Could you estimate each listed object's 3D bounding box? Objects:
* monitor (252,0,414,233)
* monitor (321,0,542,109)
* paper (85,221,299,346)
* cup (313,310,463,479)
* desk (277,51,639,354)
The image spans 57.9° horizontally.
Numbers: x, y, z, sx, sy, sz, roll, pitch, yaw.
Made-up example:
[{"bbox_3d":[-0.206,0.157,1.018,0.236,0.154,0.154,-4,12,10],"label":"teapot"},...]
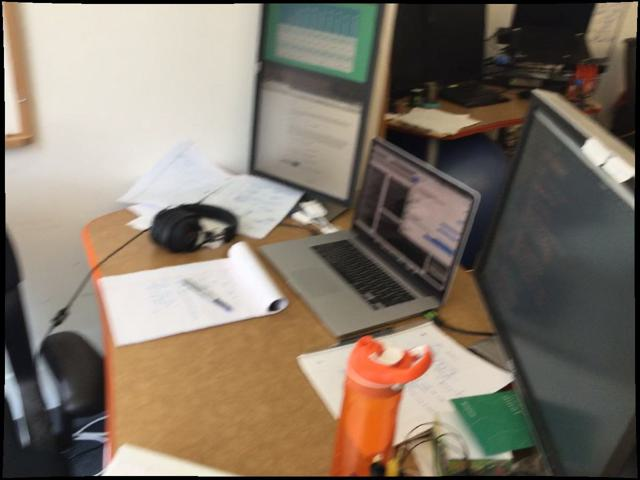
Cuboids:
[{"bbox_3d":[0.000,-0.360,1.410,0.190,0.540,0.400,-10,33,-25],"label":"monitor"},{"bbox_3d":[0.460,-0.911,2.430,0.749,0.550,0.450,-10,33,-25],"label":"monitor"},{"bbox_3d":[-0.260,0.070,1.160,0.360,0.060,0.250,-10,33,-25],"label":"paper"},{"bbox_3d":[0.070,0.240,0.700,0.090,0.270,0.130,-10,33,-25],"label":"cup"},{"bbox_3d":[0.669,-0.290,2.610,1.419,0.861,0.970,-10,33,-25],"label":"desk"}]
